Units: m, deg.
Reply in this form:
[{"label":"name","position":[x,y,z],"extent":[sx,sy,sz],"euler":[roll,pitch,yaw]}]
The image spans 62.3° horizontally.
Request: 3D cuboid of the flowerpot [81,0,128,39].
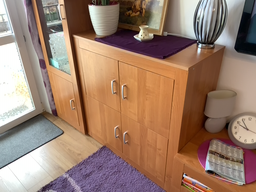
[{"label":"flowerpot","position":[-0.170,-0.680,1.570],"extent":[0.200,0.430,0.270],"euler":[26,40,38]}]
